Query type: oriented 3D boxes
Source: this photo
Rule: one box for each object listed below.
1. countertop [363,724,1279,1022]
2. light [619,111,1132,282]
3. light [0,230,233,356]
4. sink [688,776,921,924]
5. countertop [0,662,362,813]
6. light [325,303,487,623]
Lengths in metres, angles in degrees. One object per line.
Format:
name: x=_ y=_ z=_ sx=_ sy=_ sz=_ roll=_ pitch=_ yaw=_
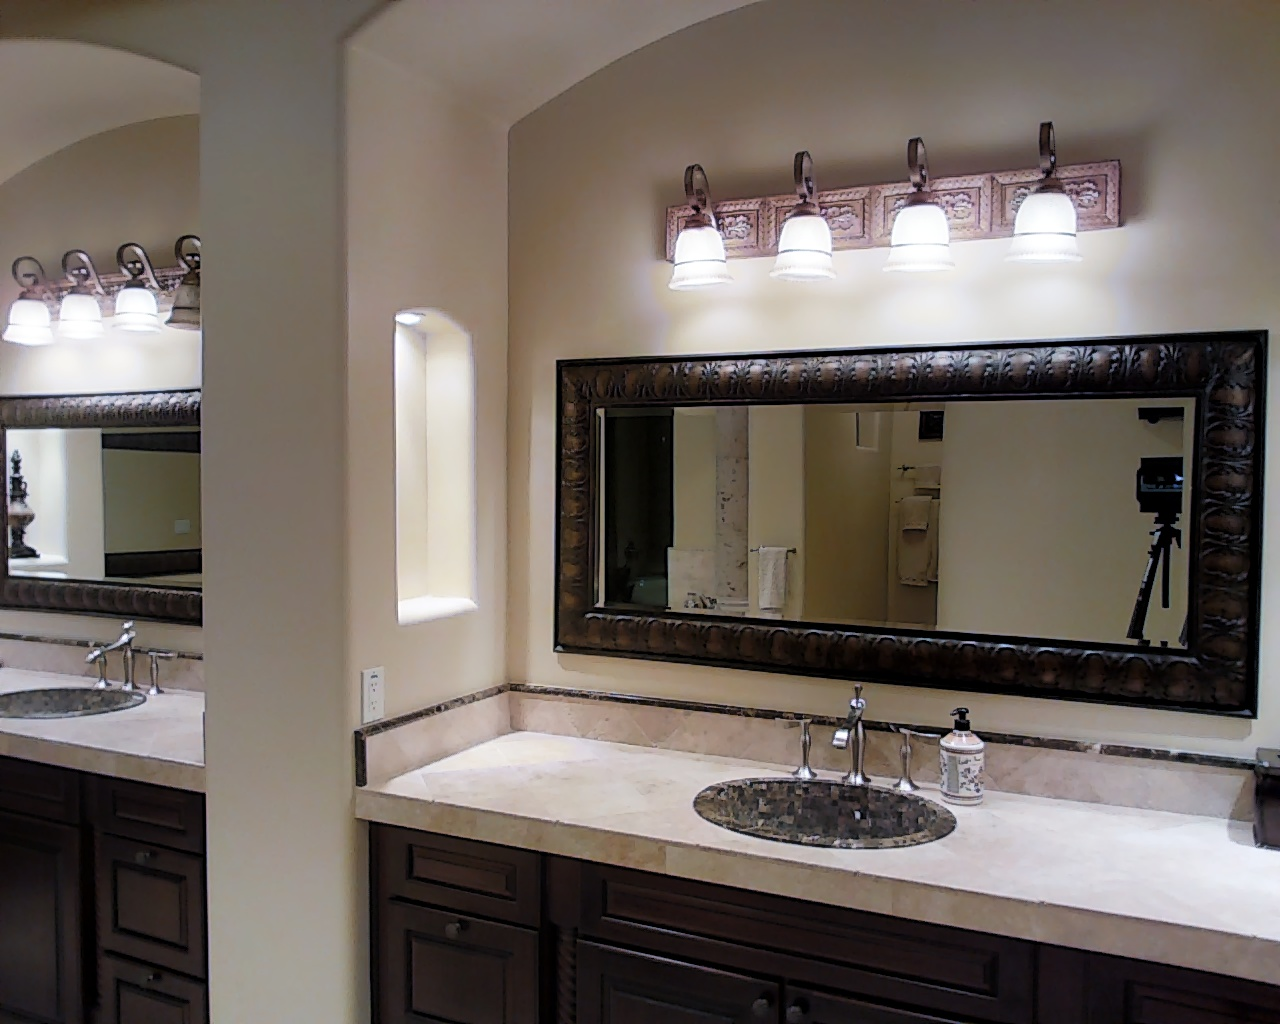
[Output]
countertop: x=0.340 y=0.630 z=2.090 sx=1.740 sy=0.120 sz=0.590 roll=2 pitch=2 yaw=26
light: x=0.460 y=-0.640 z=2.250 sx=1.040 sy=0.210 sz=0.170 roll=2 pitch=2 yaw=26
light: x=-1.660 y=-0.650 z=3.250 sx=0.940 sy=0.290 sz=0.190 roll=2 pitch=2 yaw=26
sink: x=0.330 y=0.650 z=2.100 sx=0.380 sy=0.140 sz=0.300 roll=2 pitch=2 yaw=26
countertop: x=-1.690 y=0.590 z=3.050 sx=1.770 sy=0.120 sz=0.590 roll=2 pitch=2 yaw=26
light: x=-0.540 y=-0.110 z=2.500 sx=0.180 sy=0.690 sz=0.360 roll=2 pitch=2 yaw=26
